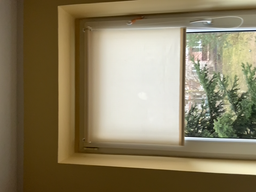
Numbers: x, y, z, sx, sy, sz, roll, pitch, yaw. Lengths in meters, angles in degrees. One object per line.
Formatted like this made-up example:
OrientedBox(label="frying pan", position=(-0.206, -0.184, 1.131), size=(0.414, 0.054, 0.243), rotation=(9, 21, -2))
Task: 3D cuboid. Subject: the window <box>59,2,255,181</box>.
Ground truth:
OrientedBox(label="window", position=(0.350, -0.030, 1.170), size=(0.140, 1.450, 0.900), rotation=(17, -106, -82))
